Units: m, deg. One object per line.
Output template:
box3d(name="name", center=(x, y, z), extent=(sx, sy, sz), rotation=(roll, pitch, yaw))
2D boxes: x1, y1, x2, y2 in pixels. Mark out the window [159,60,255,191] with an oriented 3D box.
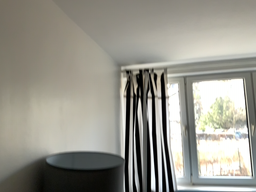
box3d(name="window", center=(1.210, 0.380, 2.710), extent=(1.530, 1.610, 0.190), rotation=(-3, -7, 11))
